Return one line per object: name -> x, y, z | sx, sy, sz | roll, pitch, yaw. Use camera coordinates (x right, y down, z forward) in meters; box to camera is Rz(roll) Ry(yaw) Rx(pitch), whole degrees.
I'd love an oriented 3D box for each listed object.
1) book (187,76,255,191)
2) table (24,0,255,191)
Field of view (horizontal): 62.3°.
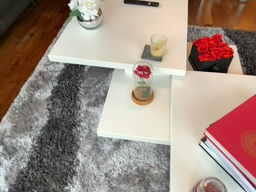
book -> 0.470, 0.110, 0.750 | 0.400, 0.150, 0.280 | -27, 55, -19
table -> 0.250, -0.080, 1.150 | 0.980, 0.290, 1.790 | -29, 56, -20
